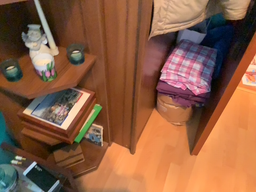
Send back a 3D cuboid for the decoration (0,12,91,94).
[{"bbox_3d":[-0.320,-0.170,0.770,0.280,0.110,0.220,-30,56,-26],"label":"decoration"}]
